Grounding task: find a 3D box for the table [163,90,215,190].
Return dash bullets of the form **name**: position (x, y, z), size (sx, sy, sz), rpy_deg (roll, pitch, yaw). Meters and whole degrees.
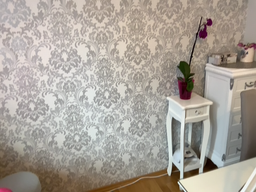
- **table**: position (0.510, 0.380, 1.870), size (0.300, 0.800, 0.260), rpy_deg (-9, 21, -17)
